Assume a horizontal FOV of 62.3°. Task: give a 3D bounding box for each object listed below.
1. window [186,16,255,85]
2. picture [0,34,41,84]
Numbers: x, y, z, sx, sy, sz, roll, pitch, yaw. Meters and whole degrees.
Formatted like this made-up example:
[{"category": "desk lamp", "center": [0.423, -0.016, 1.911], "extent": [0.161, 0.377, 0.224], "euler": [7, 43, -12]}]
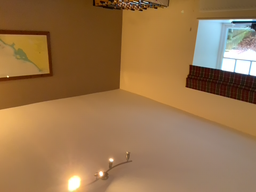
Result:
[{"category": "window", "center": [1.760, -0.760, 3.430], "extent": [0.650, 0.930, 1.340], "euler": [-12, -157, -43]}, {"category": "picture", "center": [-2.040, -0.610, 3.530], "extent": [1.110, 0.800, 0.090], "euler": [-12, -158, -41]}]
